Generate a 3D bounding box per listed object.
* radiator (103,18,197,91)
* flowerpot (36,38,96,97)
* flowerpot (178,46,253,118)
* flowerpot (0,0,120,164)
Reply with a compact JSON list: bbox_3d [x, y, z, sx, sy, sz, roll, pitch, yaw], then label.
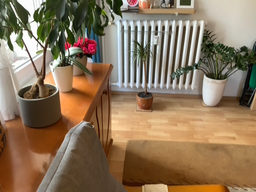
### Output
[{"bbox_3d":[0.250,-0.530,2.780,1.100,0.880,0.190,3,27,3],"label":"radiator"},{"bbox_3d":[-0.420,-0.210,1.530,0.320,0.340,0.260,2,27,1],"label":"flowerpot"},{"bbox_3d":[1.090,-0.190,2.800,0.690,0.810,0.400,4,27,5],"label":"flowerpot"},{"bbox_3d":[-0.300,-0.170,0.990,0.440,0.720,0.530,4,27,5],"label":"flowerpot"}]
